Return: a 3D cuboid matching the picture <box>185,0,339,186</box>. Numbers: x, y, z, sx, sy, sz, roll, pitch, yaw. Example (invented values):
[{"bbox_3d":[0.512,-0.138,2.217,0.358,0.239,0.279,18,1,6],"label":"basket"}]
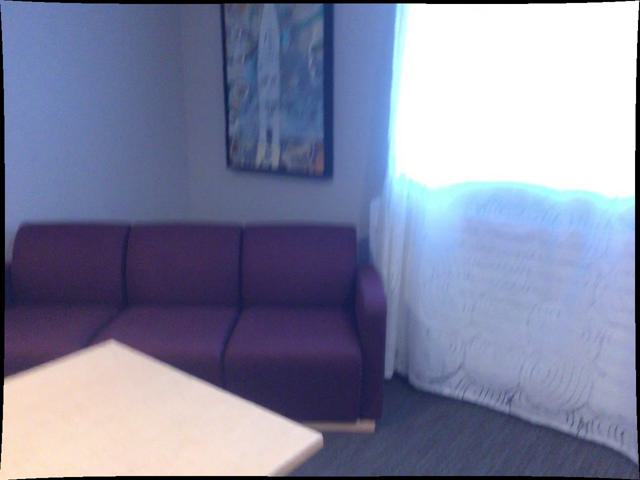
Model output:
[{"bbox_3d":[-0.329,-0.901,3.090,0.949,1.142,0.150,10,17,37],"label":"picture"}]
